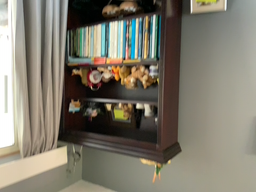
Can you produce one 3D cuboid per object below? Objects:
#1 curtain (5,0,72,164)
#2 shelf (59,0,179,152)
[{"bbox_3d":[-0.660,-0.520,1.610,0.190,1.940,0.430,3,-176,31],"label":"curtain"},{"bbox_3d":[-0.100,-0.630,1.630,0.900,1.900,0.320,3,-176,32],"label":"shelf"}]
